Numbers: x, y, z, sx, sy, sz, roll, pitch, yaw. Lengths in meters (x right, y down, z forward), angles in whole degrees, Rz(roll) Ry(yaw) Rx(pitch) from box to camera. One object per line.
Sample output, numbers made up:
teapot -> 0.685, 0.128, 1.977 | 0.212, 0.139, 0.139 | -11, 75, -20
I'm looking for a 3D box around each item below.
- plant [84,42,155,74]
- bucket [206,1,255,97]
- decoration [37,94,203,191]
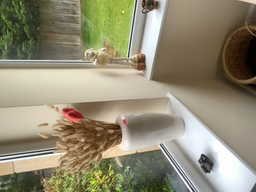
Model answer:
plant -> -0.060, -0.250, 1.420 | 0.200, 0.420, 0.130 | -123, 37, -51
bucket -> 0.840, -0.280, 1.410 | 0.450, 0.310, 0.470 | 149, 116, -65
decoration -> -0.050, 0.280, 1.020 | 0.230, 0.690, 0.510 | -133, 45, -58
